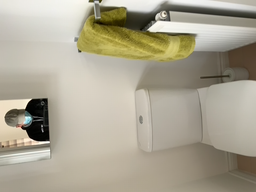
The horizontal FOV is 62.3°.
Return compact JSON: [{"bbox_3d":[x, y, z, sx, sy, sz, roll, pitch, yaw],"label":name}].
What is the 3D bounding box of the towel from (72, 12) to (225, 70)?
[{"bbox_3d":[0.070,-0.240,1.080,0.450,0.630,0.150,177,89,-69],"label":"towel"}]
